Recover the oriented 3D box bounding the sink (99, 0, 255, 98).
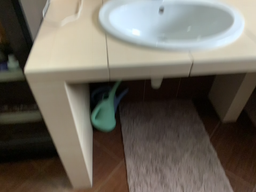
[{"bbox_3d":[0.160,-0.260,0.900,0.540,0.170,0.530,-4,45,-5],"label":"sink"}]
